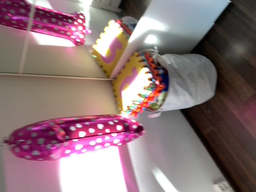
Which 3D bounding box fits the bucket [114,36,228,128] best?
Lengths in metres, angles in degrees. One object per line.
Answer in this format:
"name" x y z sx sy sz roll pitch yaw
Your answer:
"bucket" 0.290 -0.080 1.520 0.450 0.550 0.380 -55 50 37
